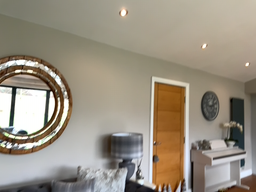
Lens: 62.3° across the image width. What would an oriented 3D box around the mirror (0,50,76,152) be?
[{"bbox_3d":[-1.040,0.070,2.180,0.990,0.950,0.100,6,-6,-40],"label":"mirror"}]
